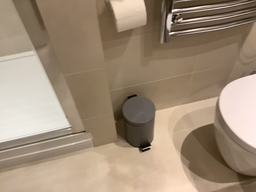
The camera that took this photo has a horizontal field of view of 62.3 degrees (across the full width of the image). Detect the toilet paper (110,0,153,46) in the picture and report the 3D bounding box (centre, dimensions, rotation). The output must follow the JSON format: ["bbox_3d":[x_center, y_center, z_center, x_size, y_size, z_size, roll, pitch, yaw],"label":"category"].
[{"bbox_3d":[0.010,-0.280,0.740,0.120,0.160,0.090,-14,52,-9],"label":"toilet paper"}]

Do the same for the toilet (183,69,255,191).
[{"bbox_3d":[0.620,0.160,0.990,0.540,0.450,0.370,-12,52,-7],"label":"toilet"}]
